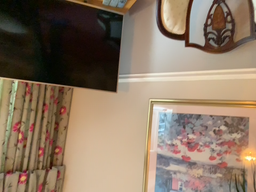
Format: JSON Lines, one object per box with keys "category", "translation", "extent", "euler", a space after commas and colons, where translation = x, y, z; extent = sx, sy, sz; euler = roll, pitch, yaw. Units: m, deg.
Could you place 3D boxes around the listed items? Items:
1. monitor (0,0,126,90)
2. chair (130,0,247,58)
{"category": "monitor", "translation": [-0.550, -0.420, 1.500], "extent": [1.070, 0.640, 0.080], "euler": [6, 174, -20]}
{"category": "chair", "translation": [0.430, -0.740, 1.340], "extent": [0.560, 0.810, 0.590], "euler": [1, 174, 29]}
